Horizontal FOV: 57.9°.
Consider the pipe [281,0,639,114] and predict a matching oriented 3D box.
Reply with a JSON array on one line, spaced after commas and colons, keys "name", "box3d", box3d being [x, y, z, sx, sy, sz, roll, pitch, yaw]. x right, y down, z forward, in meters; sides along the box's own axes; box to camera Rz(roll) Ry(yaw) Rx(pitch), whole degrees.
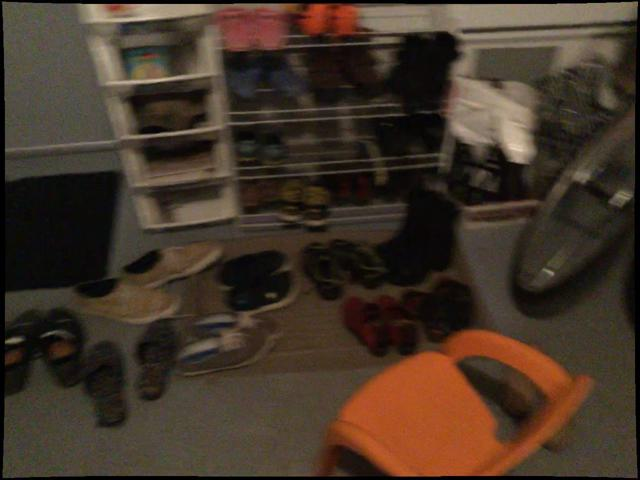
[{"name": "pipe", "box3d": [0.939, -0.681, 1.840, 2.108, 0.330, 0.170, -6, 45, -7]}]
